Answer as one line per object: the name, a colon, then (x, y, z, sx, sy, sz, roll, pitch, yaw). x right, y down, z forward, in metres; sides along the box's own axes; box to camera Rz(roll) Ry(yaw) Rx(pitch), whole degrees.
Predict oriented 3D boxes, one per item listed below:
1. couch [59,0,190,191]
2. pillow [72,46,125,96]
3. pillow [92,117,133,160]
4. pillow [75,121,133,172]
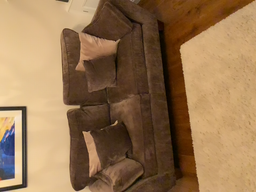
couch: (-0.150, 0.040, 2.310, 1.010, 0.940, 2.050, -19, 73, 61)
pillow: (-0.320, -0.260, 2.300, 0.380, 0.430, 0.160, 68, -164, 6)
pillow: (-0.160, 0.400, 2.040, 0.140, 0.350, 0.350, 94, 167, -45)
pillow: (-0.250, 0.510, 2.160, 0.200, 0.510, 0.440, 21, -121, -69)
